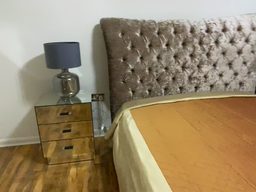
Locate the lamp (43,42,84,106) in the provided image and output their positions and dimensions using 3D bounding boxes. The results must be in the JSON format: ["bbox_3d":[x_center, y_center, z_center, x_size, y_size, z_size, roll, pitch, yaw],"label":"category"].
[{"bbox_3d":[-0.600,-0.220,2.040,0.280,0.550,0.290,-4,20,-8],"label":"lamp"}]

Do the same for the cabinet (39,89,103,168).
[{"bbox_3d":[-0.570,0.310,2.230,0.520,0.620,0.490,-5,19,-11],"label":"cabinet"}]
